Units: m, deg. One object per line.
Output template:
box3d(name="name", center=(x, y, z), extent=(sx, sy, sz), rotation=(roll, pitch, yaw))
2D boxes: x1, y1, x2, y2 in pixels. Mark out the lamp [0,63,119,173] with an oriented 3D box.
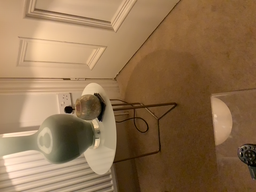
box3d(name="lamp", center=(-0.490, 0.130, 0.900), extent=(0.520, 0.680, 0.330), rotation=(-33, 66, 52))
